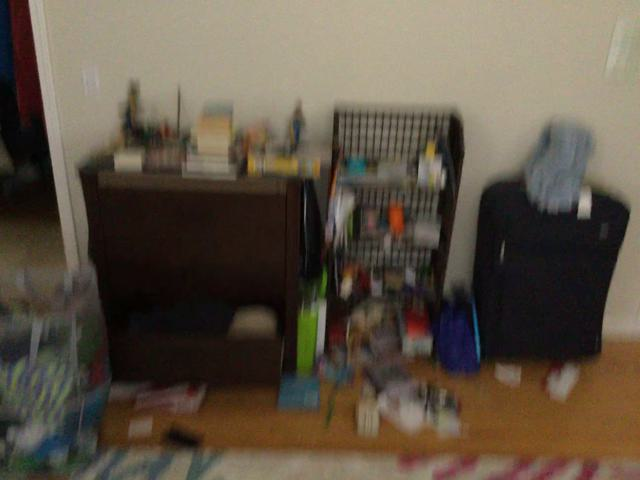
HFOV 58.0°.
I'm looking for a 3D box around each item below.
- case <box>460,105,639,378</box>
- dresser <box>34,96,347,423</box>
[{"bbox_3d":[0.950,0.010,2.380,0.600,1.060,0.340,1,21,4],"label":"case"},{"bbox_3d":[-0.390,0.030,2.300,0.960,1.090,0.710,1,21,4],"label":"dresser"}]
